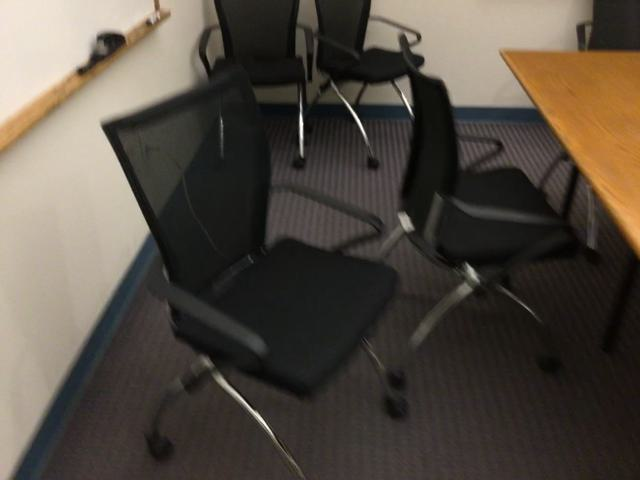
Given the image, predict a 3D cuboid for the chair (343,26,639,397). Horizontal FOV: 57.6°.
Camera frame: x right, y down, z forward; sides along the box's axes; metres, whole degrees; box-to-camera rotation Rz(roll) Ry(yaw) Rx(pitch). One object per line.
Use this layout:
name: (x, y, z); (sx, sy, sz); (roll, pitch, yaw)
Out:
chair: (0.460, -0.080, 1.770); (0.670, 0.940, 0.560); (1, 33, 9)

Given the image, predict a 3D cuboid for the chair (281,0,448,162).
chair: (0.240, -1.000, 3.060); (0.630, 0.910, 0.550); (23, 43, 37)
